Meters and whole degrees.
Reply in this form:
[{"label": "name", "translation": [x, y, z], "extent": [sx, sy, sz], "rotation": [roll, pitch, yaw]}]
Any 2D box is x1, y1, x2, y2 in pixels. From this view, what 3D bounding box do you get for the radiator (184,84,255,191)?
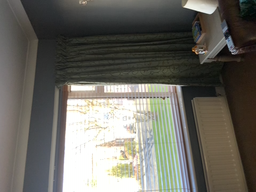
[{"label": "radiator", "translation": [1.070, 0.930, 2.330], "extent": [0.150, 0.520, 2.290], "rotation": [108, 160, -66]}]
